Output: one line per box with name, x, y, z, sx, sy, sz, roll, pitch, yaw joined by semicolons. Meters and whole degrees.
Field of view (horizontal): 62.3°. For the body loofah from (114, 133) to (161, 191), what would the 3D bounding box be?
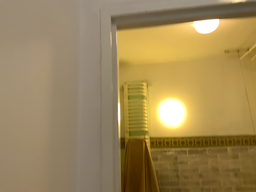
body loofah;0.120;0.870;2.450;0.490;0.850;0.300;-3;-12;9
